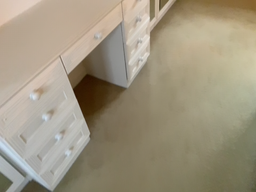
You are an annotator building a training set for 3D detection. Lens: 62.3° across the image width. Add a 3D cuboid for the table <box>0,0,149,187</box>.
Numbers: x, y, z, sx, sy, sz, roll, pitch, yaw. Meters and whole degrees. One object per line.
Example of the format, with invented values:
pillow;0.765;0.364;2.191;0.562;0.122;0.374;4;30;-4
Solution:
table;-0.350;-0.210;1.470;0.480;0.790;1.290;20;53;22
